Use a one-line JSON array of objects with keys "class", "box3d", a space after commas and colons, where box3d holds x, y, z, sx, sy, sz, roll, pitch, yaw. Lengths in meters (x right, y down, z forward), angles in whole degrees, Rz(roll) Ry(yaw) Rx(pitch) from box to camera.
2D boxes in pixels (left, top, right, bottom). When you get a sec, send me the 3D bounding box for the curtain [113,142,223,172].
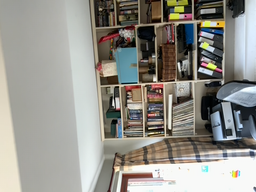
[{"class": "curtain", "box3d": [0.530, 0.860, 3.040, 0.460, 1.450, 0.210, -78, -15, -83]}]
